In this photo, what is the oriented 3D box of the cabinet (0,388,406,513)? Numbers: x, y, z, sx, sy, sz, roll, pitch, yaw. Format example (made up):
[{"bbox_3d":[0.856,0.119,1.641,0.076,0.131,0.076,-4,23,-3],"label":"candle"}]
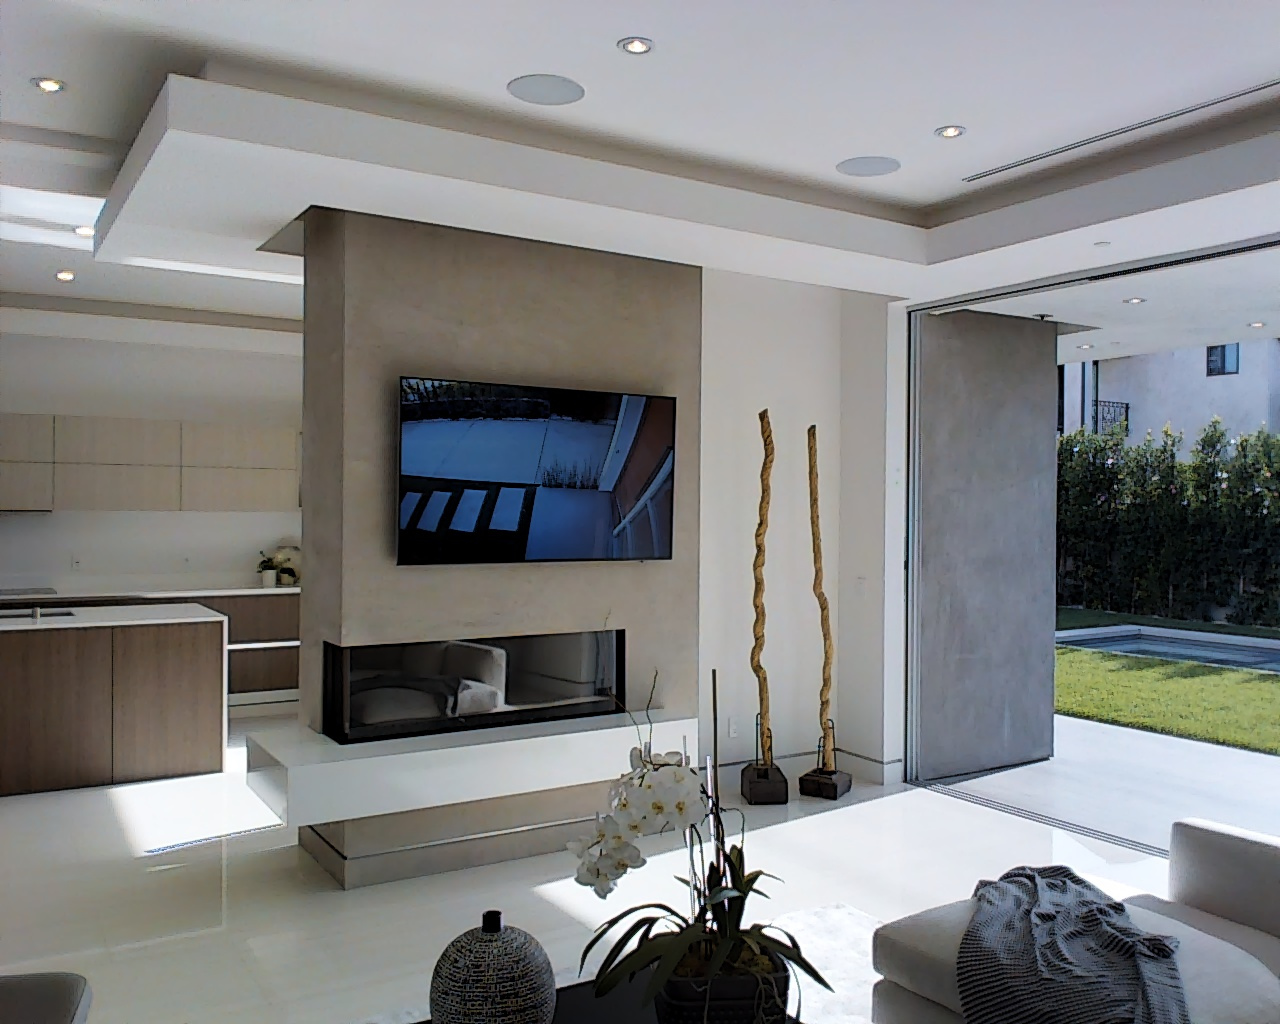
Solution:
[{"bbox_3d":[-4.188,-0.460,8.550,4.659,0.910,0.460,0,0,-32],"label":"cabinet"}]

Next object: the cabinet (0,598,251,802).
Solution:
[{"bbox_3d":[-3.758,1.080,6.290,2.619,0.980,1.050,0,0,-32],"label":"cabinet"}]
